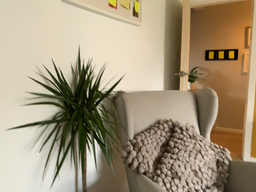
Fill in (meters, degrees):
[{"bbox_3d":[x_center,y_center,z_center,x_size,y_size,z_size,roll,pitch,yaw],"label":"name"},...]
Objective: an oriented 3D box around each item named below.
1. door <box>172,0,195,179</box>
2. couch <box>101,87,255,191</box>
[{"bbox_3d":[0.690,-0.170,2.600,0.140,2.070,0.830,3,8,18],"label":"door"},{"bbox_3d":[0.370,0.480,1.280,0.820,0.960,1.030,-3,8,-22],"label":"couch"}]
